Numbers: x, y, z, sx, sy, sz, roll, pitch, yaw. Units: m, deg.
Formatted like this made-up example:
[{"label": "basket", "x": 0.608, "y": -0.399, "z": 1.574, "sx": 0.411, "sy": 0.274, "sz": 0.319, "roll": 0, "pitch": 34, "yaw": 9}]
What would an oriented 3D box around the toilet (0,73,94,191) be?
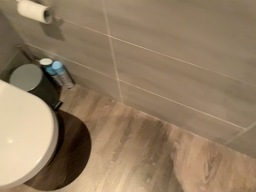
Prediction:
[{"label": "toilet", "x": -0.510, "y": 0.190, "z": 0.980, "sx": 0.510, "sy": 0.450, "sz": 0.370, "roll": 23, "pitch": 67, "yaw": 13}]
